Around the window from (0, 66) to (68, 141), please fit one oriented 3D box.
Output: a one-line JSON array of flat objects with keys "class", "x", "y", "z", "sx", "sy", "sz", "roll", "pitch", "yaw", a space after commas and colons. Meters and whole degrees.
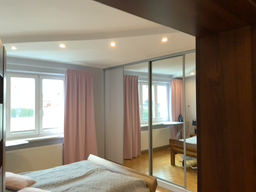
[{"class": "window", "x": -2.410, "y": 0.150, "z": 4.510, "sx": 2.250, "sy": 1.470, "sz": 0.320, "roll": 0, "pitch": -1, "yaw": -42}]
